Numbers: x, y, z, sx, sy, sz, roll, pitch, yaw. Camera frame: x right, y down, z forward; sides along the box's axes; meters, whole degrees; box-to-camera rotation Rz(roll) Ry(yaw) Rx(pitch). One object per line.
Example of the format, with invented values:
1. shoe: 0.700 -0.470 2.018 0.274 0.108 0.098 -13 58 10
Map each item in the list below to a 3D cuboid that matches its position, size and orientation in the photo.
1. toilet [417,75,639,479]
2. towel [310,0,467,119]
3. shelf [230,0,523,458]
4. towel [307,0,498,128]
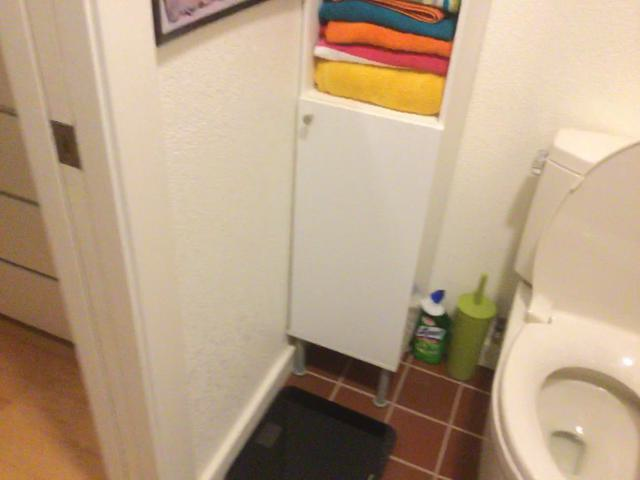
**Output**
1. toilet: 0.520 0.240 1.110 0.450 0.860 0.700 20 34 17
2. towel: 0.120 -0.360 1.090 0.260 0.190 0.050 20 34 17
3. shelf: 0.140 -0.370 1.110 0.380 1.790 0.390 20 34 17
4. towel: 0.170 -0.430 1.110 0.280 0.300 0.240 20 34 17
